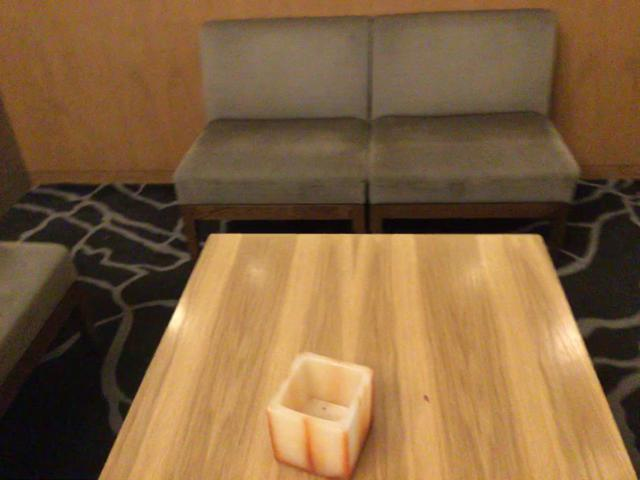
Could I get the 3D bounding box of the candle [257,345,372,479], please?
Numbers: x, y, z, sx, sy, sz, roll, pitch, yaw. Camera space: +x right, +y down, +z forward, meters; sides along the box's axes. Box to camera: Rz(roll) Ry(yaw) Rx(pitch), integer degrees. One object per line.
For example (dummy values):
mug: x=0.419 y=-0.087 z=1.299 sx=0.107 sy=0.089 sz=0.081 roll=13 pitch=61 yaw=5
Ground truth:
candle: x=0.000 y=0.300 z=1.010 sx=0.170 sy=0.140 sz=0.180 roll=-1 pitch=33 yaw=8

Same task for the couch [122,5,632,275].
couch: x=0.200 y=-0.400 z=2.280 sx=1.540 sy=0.750 sz=0.780 roll=-1 pitch=33 yaw=8
